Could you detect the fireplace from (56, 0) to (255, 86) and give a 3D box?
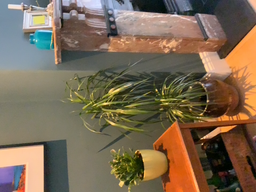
[{"bbox_3d":[0.030,-1.020,1.940,0.750,1.310,1.710,115,148,-54],"label":"fireplace"}]
